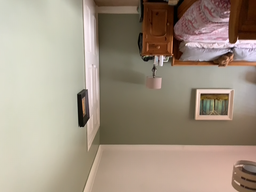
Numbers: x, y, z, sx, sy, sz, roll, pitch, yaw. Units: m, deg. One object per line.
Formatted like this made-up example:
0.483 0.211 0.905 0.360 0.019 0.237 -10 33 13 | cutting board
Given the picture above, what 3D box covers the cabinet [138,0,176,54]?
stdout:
0.420 -1.060 3.260 0.480 0.800 0.520 0 -171 -1 | cabinet
